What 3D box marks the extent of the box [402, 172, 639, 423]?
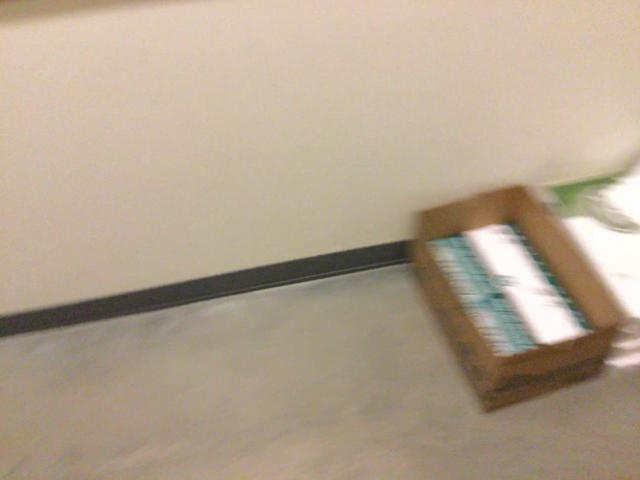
[{"bbox_3d":[0.450,0.120,1.390,0.370,0.260,0.470,-13,45,-2],"label":"box"}]
